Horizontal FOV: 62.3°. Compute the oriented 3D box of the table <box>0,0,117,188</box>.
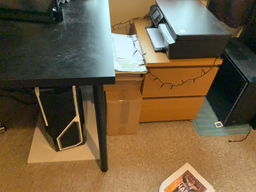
[{"bbox_3d":[-0.860,-0.080,1.130,1.510,0.750,0.860,-1,45,-8],"label":"table"}]
